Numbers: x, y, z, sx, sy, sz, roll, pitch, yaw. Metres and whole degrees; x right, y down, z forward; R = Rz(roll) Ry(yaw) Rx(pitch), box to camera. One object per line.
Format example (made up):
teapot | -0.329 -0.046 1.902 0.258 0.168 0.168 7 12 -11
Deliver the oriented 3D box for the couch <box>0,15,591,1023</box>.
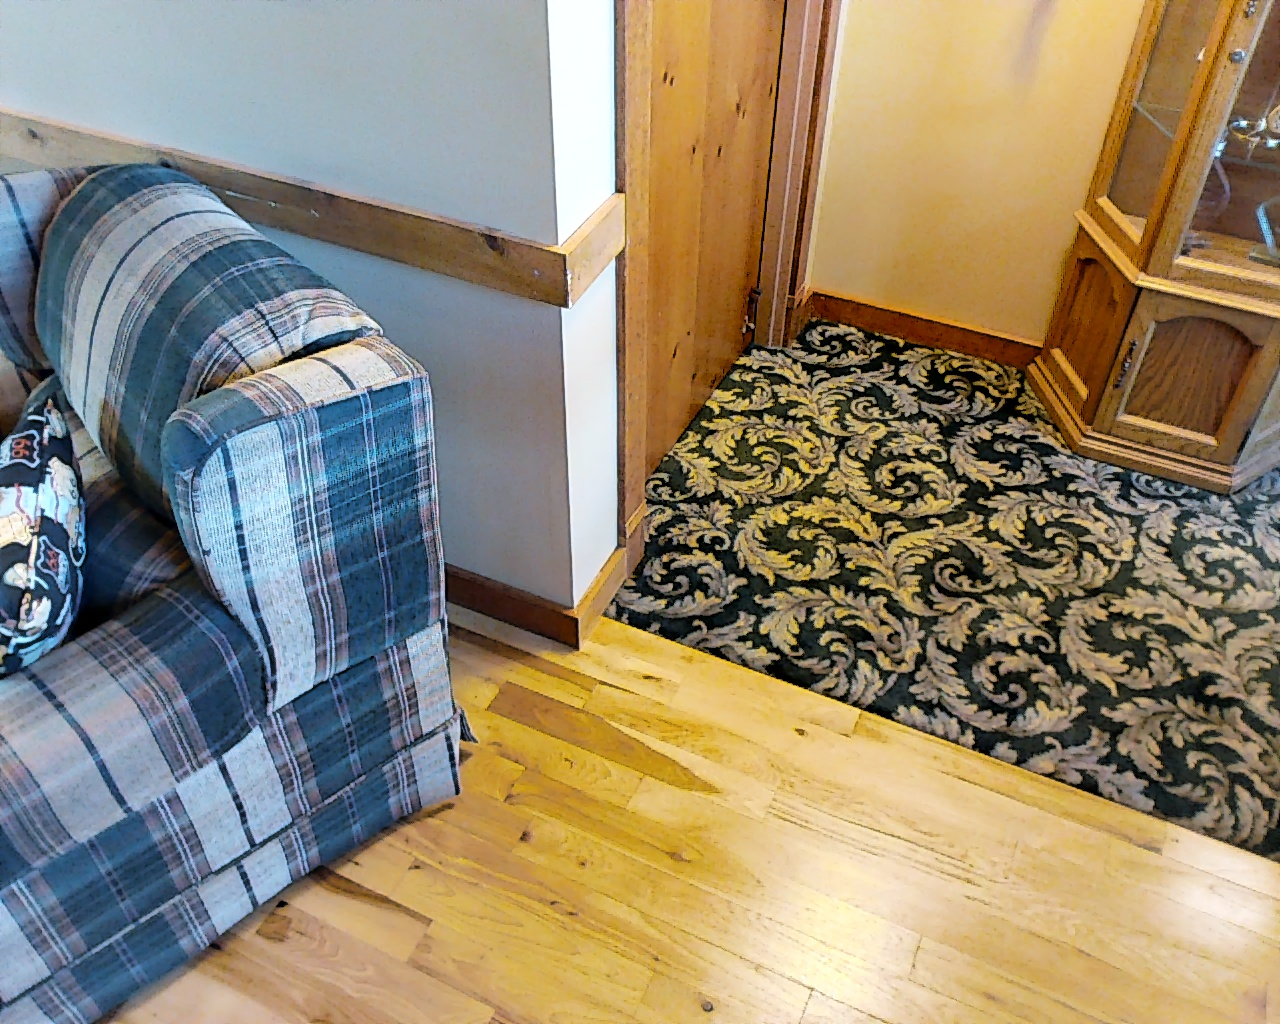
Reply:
couch | -0.890 0.030 1.540 1.200 0.930 1.110 -27 48 -28
